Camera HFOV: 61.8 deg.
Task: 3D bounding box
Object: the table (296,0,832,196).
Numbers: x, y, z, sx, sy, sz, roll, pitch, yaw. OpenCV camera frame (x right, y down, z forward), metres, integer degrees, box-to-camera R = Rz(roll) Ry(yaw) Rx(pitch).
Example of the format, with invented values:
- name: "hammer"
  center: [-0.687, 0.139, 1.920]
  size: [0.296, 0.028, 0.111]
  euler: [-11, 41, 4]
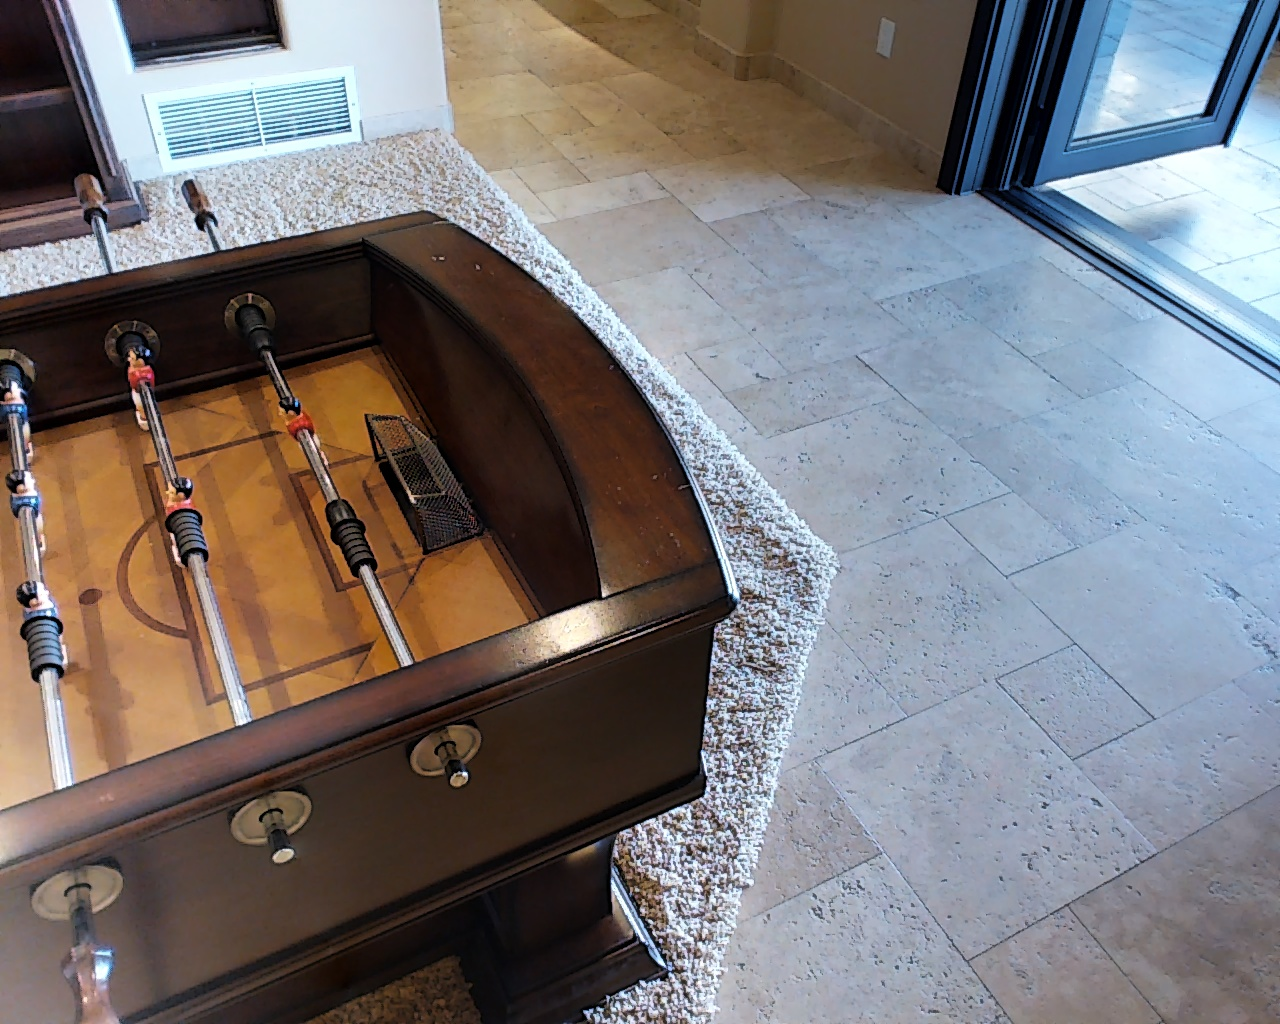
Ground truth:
- name: "table"
  center: [-0.280, -1.939, 3.870]
  size: [1.741, 0.940, 0.920]
  euler: [-18, 46, -20]
